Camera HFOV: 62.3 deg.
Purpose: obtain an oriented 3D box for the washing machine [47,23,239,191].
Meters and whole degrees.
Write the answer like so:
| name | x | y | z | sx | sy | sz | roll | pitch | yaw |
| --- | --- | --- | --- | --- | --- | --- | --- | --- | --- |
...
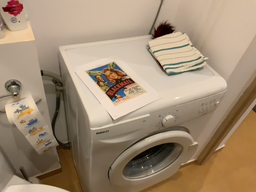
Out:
| name | x | y | z | sx | sy | sz | roll | pitch | yaw |
| --- | --- | --- | --- | --- | --- | --- | --- | --- | --- |
| washing machine | -0.010 | 0.150 | 1.160 | 0.620 | 0.850 | 0.510 | -15 | 51 | -25 |

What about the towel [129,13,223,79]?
| name | x | y | z | sx | sy | sz | roll | pitch | yaw |
| --- | --- | --- | --- | --- | --- | --- | --- | --- | --- |
| towel | 0.190 | -0.240 | 0.930 | 0.230 | 0.060 | 0.380 | -13 | 50 | -22 |
